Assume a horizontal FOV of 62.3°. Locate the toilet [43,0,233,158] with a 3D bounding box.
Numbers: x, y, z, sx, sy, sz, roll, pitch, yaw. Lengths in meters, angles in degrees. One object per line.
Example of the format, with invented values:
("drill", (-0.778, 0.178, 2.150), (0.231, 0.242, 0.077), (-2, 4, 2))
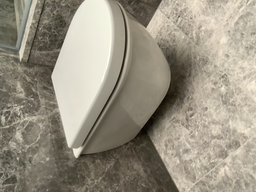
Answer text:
("toilet", (-0.010, -0.080, 0.830), (0.490, 0.450, 0.380), (-57, 44, 31))
